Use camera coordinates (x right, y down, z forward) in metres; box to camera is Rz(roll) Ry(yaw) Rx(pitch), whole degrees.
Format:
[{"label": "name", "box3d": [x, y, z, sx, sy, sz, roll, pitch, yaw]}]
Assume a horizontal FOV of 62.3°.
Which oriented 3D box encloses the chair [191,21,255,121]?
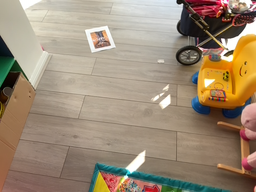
[{"label": "chair", "box3d": [0.630, -0.160, 1.380, 0.340, 0.400, 0.460, 8, 57, 6]}]
